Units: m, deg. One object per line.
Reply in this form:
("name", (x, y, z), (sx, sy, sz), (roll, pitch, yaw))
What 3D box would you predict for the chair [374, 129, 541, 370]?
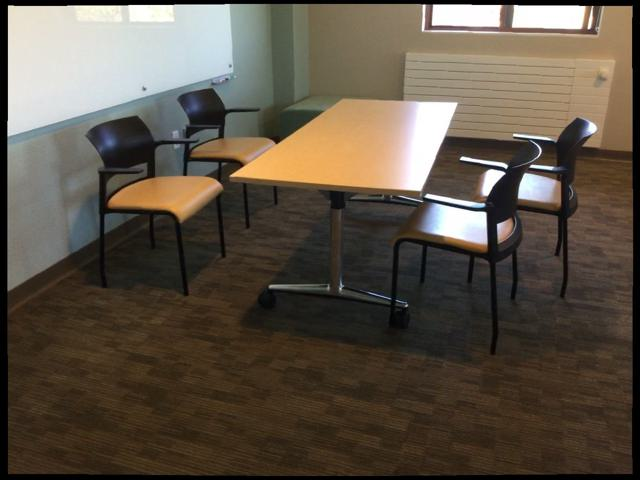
("chair", (0.589, 0.000, 2.460), (0.509, 0.761, 0.640), (10, 27, 21))
